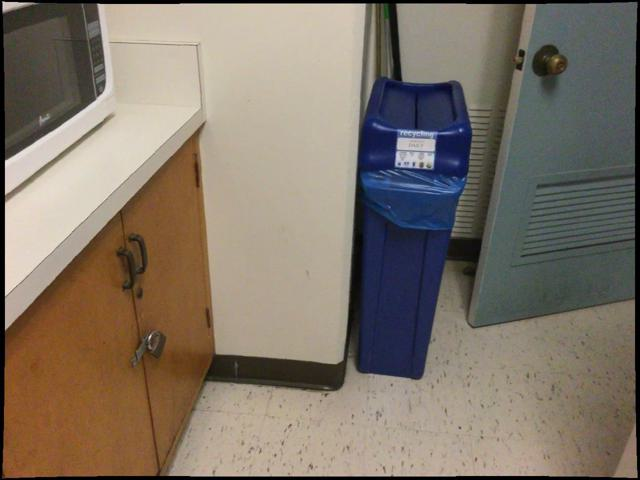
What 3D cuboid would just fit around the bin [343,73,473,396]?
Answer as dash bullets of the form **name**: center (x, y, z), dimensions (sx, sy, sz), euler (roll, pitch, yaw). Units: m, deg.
- **bin**: center (0.259, -0.030, 1.910), dimensions (0.299, 0.882, 0.580), euler (4, 31, 5)
